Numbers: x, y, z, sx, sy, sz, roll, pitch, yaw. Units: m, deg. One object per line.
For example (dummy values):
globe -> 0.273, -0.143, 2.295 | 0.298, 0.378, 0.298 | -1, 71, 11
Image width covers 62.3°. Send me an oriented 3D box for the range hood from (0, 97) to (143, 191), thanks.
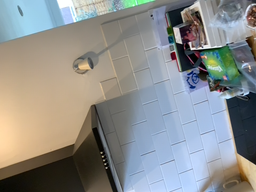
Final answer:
range hood -> -0.430, 0.450, 1.020 | 0.440, 0.930, 0.590 | -140, 33, -78
